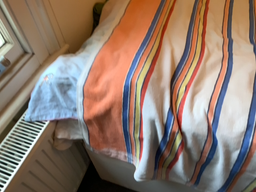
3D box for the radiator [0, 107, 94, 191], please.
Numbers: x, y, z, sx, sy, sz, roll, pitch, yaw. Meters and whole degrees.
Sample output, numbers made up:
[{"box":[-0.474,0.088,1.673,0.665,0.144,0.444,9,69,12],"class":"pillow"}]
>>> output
[{"box":[-0.330,0.400,0.730,0.120,0.570,0.470,14,54,16],"class":"radiator"}]
